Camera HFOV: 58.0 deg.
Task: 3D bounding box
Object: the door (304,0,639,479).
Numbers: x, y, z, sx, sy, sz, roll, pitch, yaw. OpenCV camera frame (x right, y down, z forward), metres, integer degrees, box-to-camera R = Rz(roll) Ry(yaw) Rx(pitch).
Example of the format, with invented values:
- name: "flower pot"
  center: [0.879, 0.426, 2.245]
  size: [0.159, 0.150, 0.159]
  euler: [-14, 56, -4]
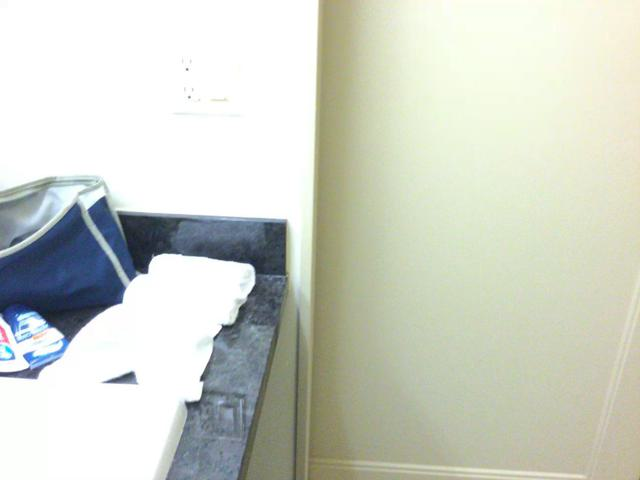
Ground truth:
- name: "door"
  center: [0.390, 0.180, 1.240]
  size: [0.840, 1.390, 0.100]
  euler: [2, 22, 4]
